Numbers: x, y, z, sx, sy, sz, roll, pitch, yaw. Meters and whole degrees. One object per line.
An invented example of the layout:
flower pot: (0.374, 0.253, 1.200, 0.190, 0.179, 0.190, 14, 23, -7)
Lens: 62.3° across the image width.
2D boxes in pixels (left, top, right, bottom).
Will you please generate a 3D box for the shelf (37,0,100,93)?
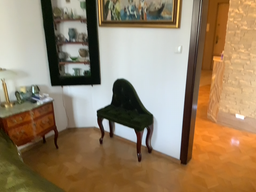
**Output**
shelf: (-0.720, -0.980, 2.550, 0.510, 1.750, 0.470, 15, 24, 35)

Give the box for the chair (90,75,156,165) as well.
chair: (-0.070, 0.250, 2.560, 0.710, 0.870, 0.310, 15, 24, 35)
